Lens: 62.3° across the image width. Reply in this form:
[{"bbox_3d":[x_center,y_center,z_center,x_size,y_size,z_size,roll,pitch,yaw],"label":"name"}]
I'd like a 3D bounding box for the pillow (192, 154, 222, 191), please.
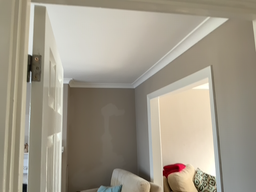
[{"bbox_3d":[1.360,1.440,3.690,0.280,0.400,0.700,22,40,20],"label":"pillow"}]
